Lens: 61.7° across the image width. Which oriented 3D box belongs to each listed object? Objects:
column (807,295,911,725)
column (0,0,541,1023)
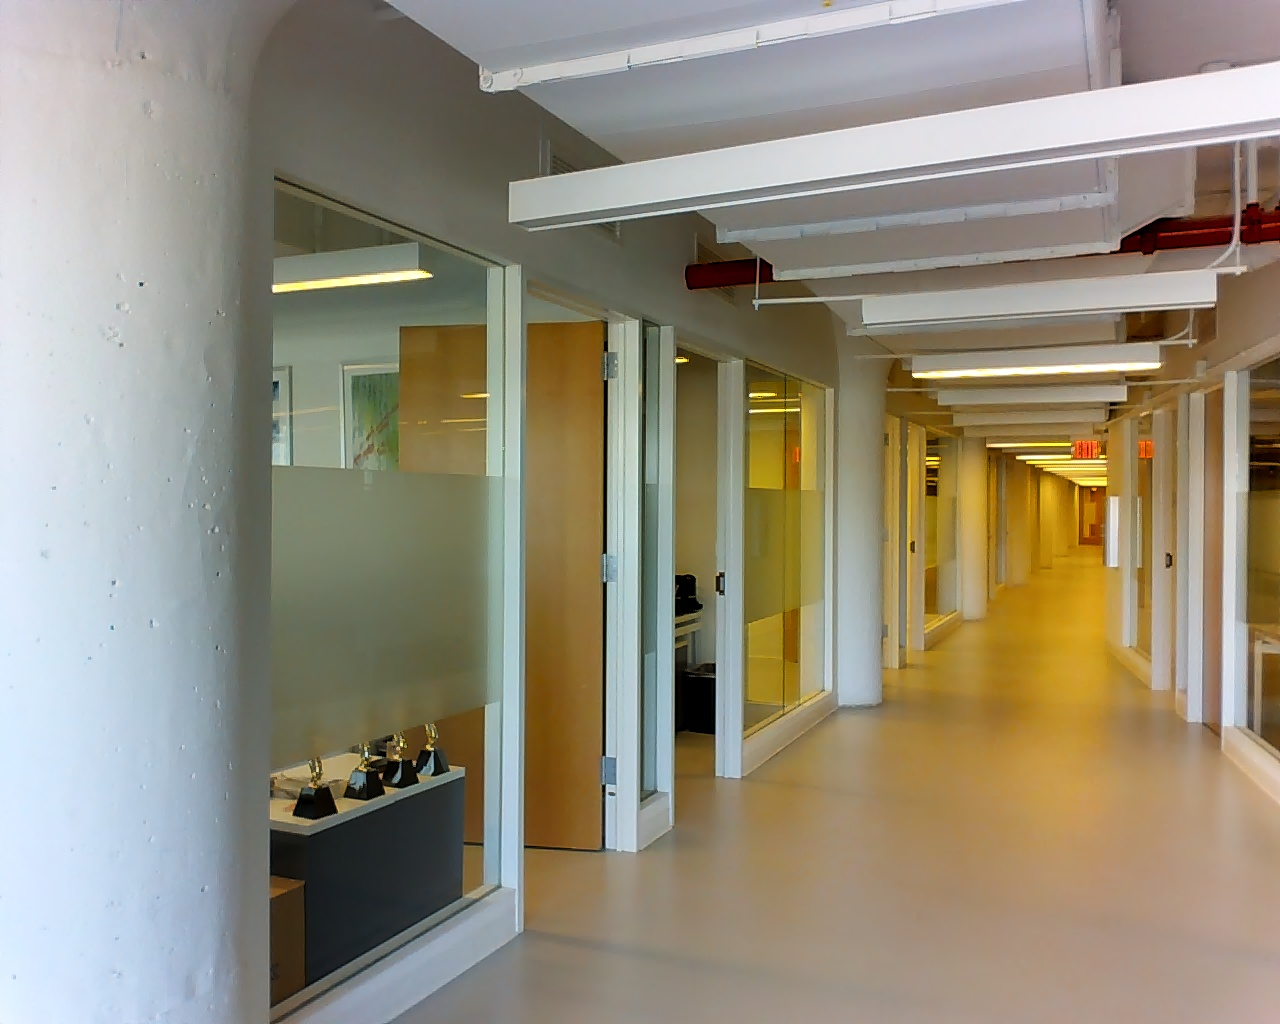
[{"bbox_3d":[1.630,-0.010,7.860,0.460,2.881,1.280,0,0,24],"label":"column"},{"bbox_3d":[-0.850,-0.020,2.110,0.710,2.891,1.350,0,0,24],"label":"column"}]
